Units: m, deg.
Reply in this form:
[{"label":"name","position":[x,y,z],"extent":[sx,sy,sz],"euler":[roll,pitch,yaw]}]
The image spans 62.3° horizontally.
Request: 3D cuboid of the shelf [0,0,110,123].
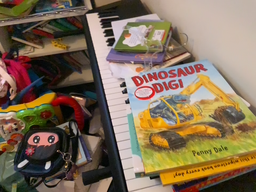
[{"label":"shelf","position":[-0.460,-0.250,1.400],"extent":[0.560,0.750,0.360],"euler":[-12,47,-9]}]
